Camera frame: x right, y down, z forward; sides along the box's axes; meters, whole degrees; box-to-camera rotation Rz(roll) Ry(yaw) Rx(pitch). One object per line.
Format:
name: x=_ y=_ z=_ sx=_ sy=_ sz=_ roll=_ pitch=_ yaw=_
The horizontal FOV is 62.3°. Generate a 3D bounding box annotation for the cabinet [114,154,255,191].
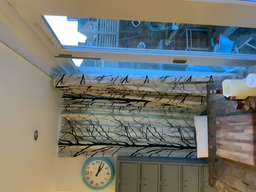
cabinet: x=0.670 y=0.870 z=2.250 sx=0.360 sy=1.610 sz=0.390 roll=116 pitch=156 yaw=-82
